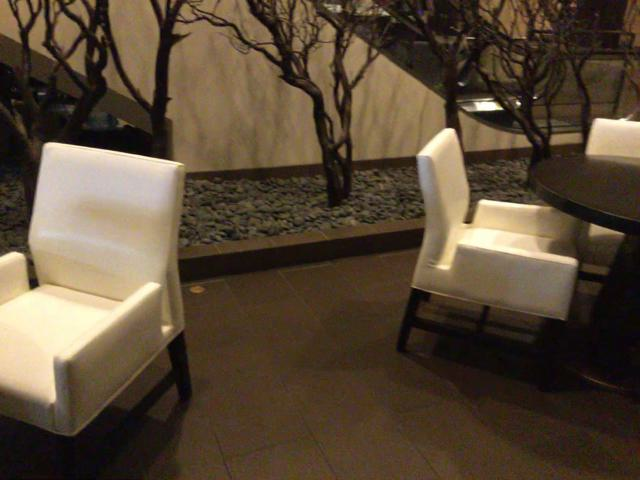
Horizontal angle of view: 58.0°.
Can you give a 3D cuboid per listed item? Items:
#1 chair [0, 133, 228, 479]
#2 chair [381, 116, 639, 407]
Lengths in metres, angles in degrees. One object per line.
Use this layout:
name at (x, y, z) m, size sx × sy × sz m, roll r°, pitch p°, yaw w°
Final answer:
chair at (-0.780, 0.170, 1.730) m, size 0.660 × 0.820 × 0.730 m, roll 6°, pitch 23°, yaw 20°
chair at (0.780, 0.010, 2.340) m, size 0.880 × 0.870 × 0.700 m, roll 8°, pitch 23°, yaw 22°
